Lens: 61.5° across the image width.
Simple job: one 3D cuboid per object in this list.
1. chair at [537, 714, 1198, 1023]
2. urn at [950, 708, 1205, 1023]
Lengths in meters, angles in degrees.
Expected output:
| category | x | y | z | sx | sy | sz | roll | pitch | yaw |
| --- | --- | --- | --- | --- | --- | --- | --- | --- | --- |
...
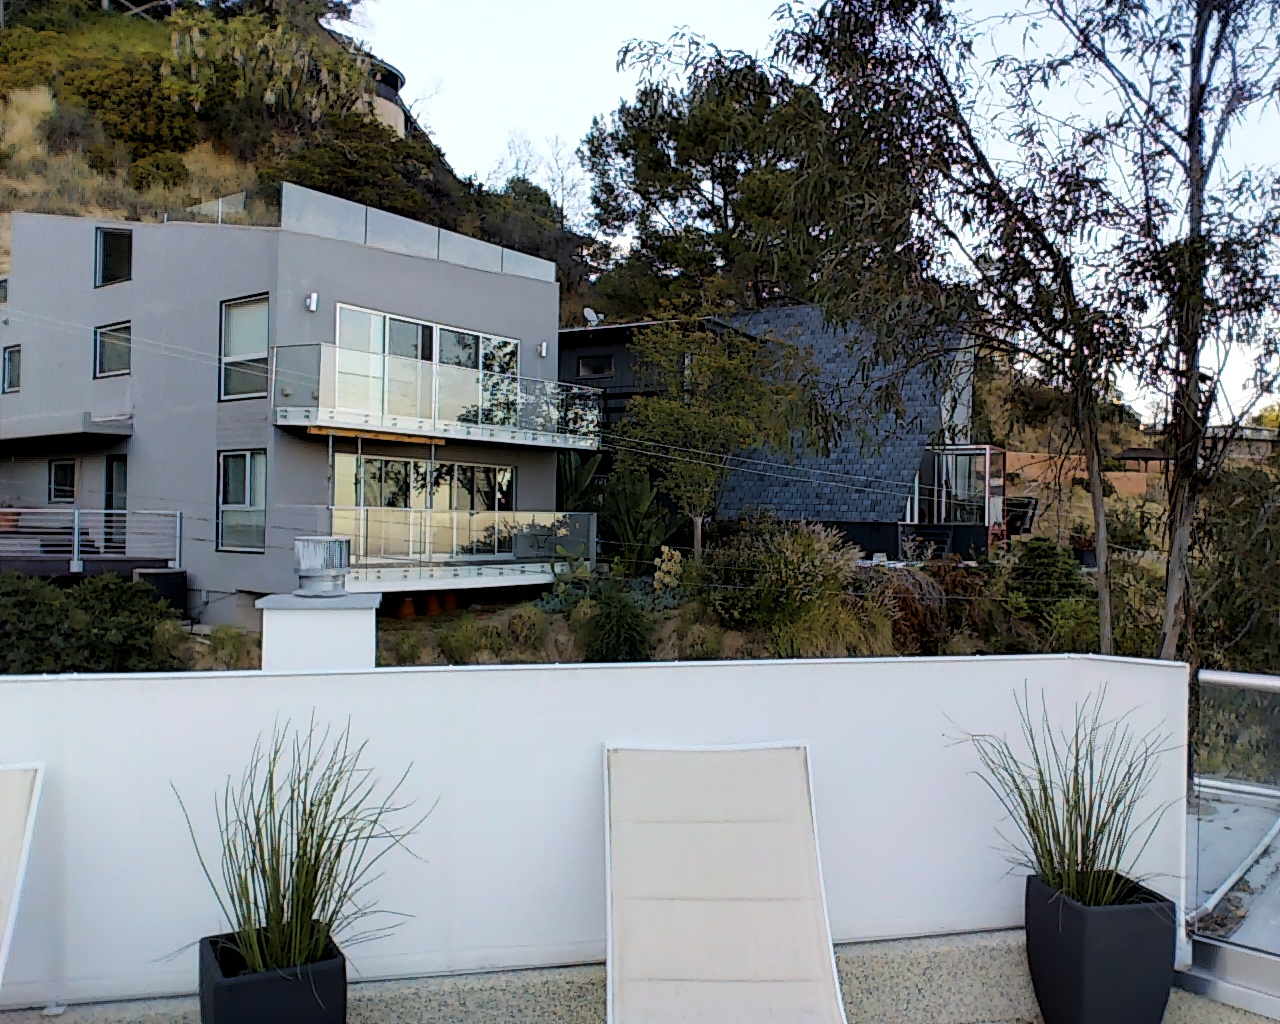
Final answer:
| category | x | y | z | sx | sy | sz | roll | pitch | yaw |
| --- | --- | --- | --- | --- | --- | --- | --- | --- | --- |
| chair | 0.250 | 1.120 | 2.390 | 0.860 | 0.970 | 1.770 | 2 | 1 | -8 |
| urn | 1.270 | 1.100 | 3.180 | 0.480 | 0.940 | 0.510 | 1 | 0 | -12 |
